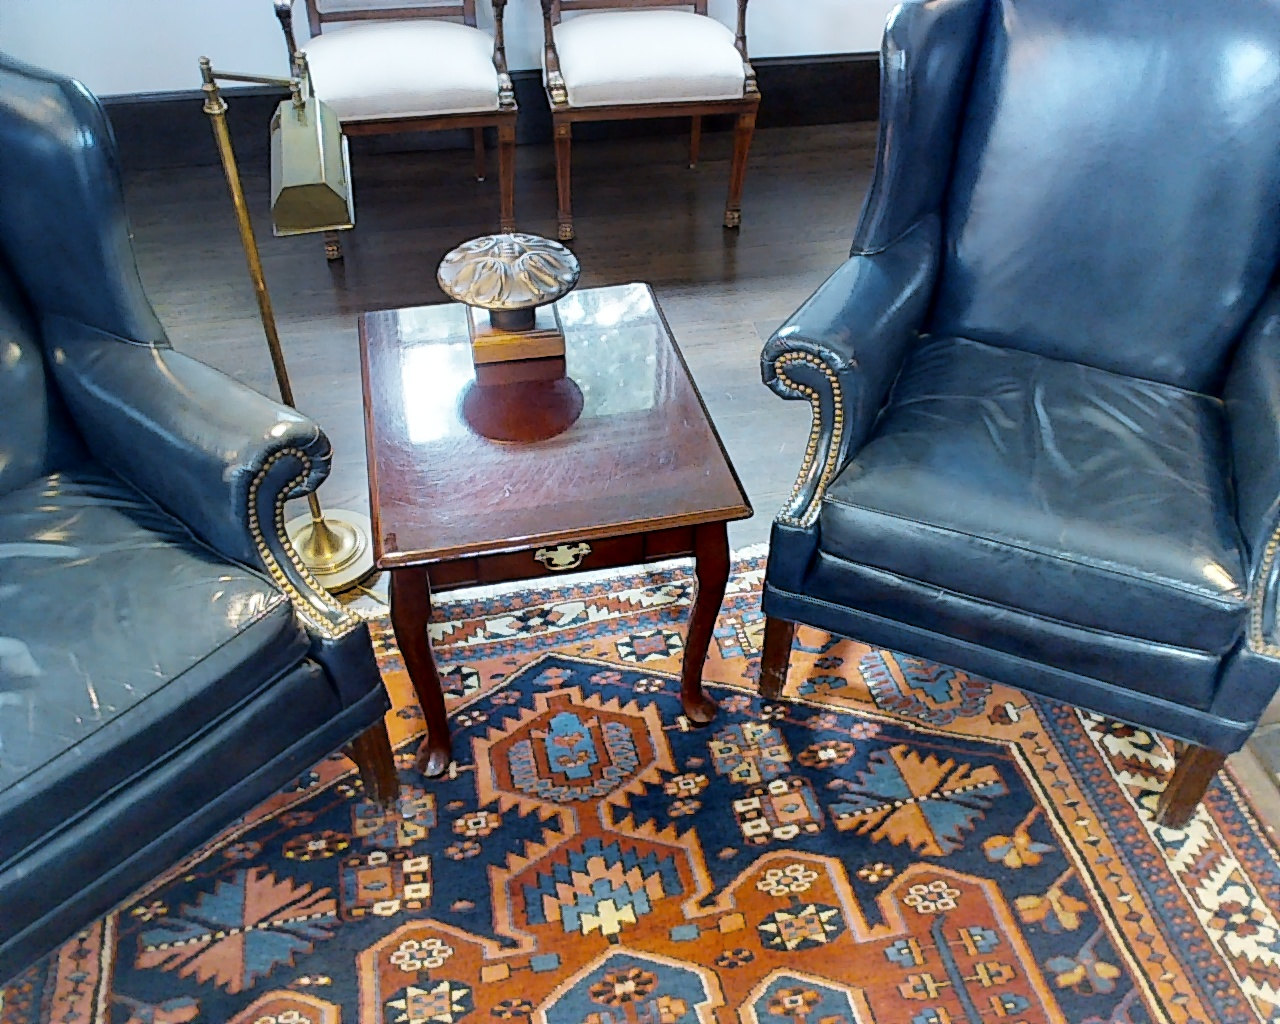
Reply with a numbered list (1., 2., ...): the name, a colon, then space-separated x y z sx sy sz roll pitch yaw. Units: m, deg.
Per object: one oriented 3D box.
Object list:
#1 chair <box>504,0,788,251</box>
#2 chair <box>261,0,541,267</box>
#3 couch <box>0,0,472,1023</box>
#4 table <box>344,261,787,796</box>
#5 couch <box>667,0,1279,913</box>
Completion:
1. chair: -0.020 -1.330 3.060 0.670 0.870 0.690 -6 43 -8
2. chair: -0.640 -1.260 2.950 0.620 0.890 0.660 -7 43 -8
3. couch: -0.920 0.030 1.370 0.890 1.110 0.950 32 51 30
4. table: -0.160 0.000 1.850 0.590 0.530 0.680 -7 43 -9
5. couch: 0.670 -0.210 1.690 0.950 1.080 0.920 16 45 16
